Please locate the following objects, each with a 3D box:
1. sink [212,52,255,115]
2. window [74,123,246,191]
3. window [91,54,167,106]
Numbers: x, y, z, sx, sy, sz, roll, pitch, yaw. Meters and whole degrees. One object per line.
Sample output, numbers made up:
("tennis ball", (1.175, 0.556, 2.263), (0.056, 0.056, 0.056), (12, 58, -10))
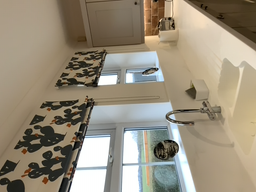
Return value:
("sink", (0.700, -0.090, 1.440), (0.290, 0.120, 0.320), (-90, -4, -58))
("window", (0.190, 0.520, 1.600), (0.820, 1.090, 0.090), (-90, -5, -59))
("window", (0.010, -0.240, 2.590), (1.000, 0.770, 0.090), (-90, -4, -55))
